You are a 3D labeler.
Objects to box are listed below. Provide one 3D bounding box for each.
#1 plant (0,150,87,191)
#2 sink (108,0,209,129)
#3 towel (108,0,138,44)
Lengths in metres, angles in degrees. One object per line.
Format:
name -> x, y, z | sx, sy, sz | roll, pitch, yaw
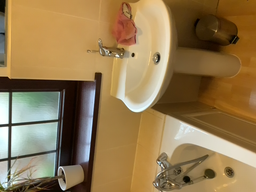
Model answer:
plant -> -0.530, 0.510, 1.240 | 0.170, 0.530, 0.240 | 19, 107, 52
sink -> 0.110, -0.190, 1.070 | 0.430, 0.170, 0.570 | 25, 112, 51
towel -> -0.030, -0.380, 1.090 | 0.140, 0.060, 0.210 | 23, 110, 51
